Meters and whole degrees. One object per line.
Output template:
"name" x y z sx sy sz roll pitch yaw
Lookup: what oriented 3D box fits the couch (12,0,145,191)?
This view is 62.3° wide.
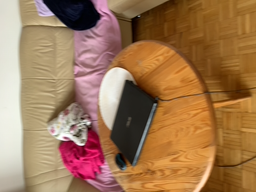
"couch" -0.460 -0.190 1.890 0.820 0.820 2.480 0 92 51

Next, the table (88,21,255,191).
"table" 0.230 0.130 1.260 0.810 0.570 0.820 0 92 51
